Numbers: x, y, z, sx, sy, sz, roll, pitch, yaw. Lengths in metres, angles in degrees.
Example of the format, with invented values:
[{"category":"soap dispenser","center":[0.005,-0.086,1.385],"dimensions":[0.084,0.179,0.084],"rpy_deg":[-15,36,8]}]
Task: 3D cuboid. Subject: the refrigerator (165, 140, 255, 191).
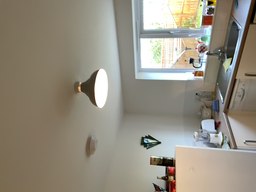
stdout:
[{"category":"refrigerator","center":[1.130,0.900,2.060],"dimensions":[0.550,1.490,0.620],"rpy_deg":[-75,-16,-52]}]
